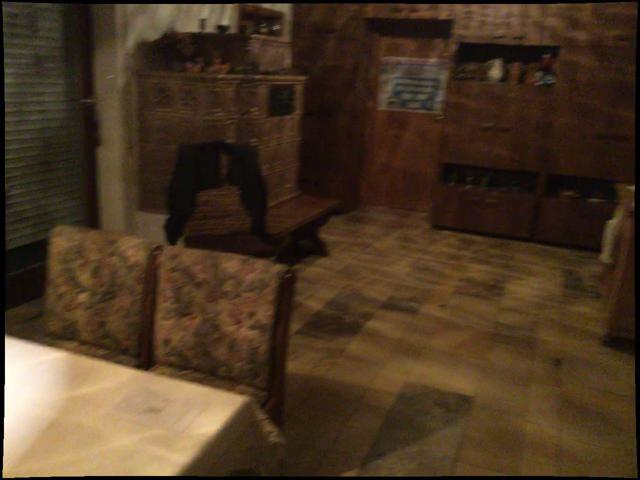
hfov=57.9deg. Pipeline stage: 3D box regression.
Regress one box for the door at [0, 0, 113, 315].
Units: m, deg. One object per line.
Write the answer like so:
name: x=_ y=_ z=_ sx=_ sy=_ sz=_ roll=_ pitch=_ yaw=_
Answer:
door: x=-1.738 y=-0.641 z=3.470 sx=0.210 sy=1.992 sz=0.960 roll=9 pitch=18 yaw=22
